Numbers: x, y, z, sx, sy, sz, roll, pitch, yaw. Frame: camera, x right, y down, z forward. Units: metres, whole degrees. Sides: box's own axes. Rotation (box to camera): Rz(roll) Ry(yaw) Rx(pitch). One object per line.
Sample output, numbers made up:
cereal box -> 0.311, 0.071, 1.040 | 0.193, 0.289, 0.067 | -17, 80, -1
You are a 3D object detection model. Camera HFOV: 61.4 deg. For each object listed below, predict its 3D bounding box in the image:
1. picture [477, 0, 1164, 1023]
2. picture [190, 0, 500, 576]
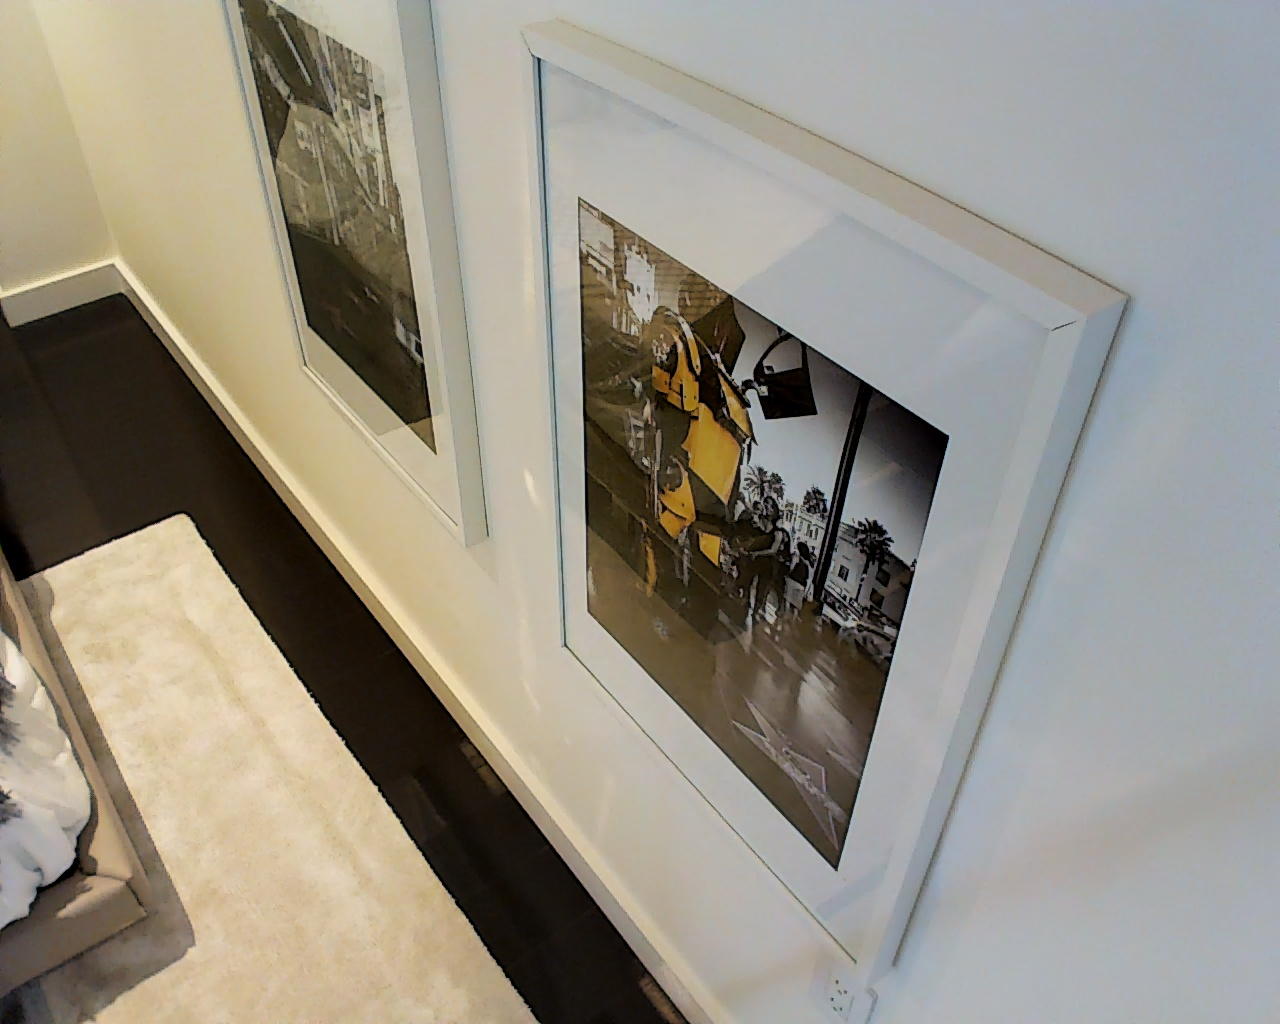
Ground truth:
picture -> 0.060, 0.040, 0.960 | 0.060, 0.850, 0.560 | -26, 48, -27
picture -> -0.380, -0.360, 1.360 | 0.070, 0.770, 0.540 | -27, 49, -27
